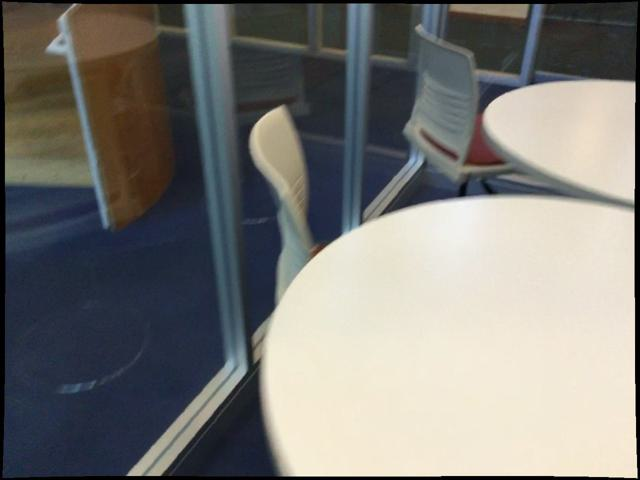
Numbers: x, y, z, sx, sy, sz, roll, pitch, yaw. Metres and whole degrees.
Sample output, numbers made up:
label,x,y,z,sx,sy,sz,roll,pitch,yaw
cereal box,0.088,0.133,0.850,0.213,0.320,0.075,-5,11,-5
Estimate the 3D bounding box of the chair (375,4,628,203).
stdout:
label,x,y,z,sx,sy,sz,roll,pitch,yaw
chair,0.589,-0.521,2.070,0.550,0.460,0.600,-11,36,-17
